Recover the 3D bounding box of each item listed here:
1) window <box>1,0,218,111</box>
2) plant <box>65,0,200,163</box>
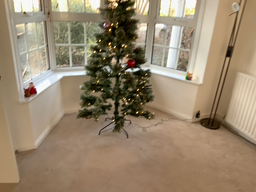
[{"bbox_3d":[-0.180,-0.840,2.700,2.310,1.610,0.870,-5,25,-20],"label":"window"},{"bbox_3d":[-0.090,-0.400,2.380,1.060,1.770,1.060,-5,25,-19],"label":"plant"}]
